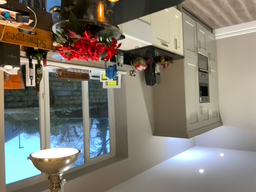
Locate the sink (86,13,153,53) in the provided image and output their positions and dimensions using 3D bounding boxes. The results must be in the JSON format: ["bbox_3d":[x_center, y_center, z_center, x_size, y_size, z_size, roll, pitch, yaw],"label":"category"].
[{"bbox_3d":[-0.090,-0.720,2.560,0.540,0.230,0.610,-3,179,38],"label":"sink"}]

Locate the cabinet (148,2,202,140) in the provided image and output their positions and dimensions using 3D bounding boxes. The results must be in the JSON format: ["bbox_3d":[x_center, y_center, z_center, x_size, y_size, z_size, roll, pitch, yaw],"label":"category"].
[{"bbox_3d":[0.850,-0.390,3.820,0.650,2.210,0.590,-3,179,38],"label":"cabinet"}]

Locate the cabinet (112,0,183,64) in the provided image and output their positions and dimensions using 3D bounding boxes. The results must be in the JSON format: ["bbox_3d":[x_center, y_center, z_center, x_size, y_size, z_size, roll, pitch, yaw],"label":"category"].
[{"bbox_3d":[0.330,-1.030,3.220,0.610,0.900,0.960,-3,179,38],"label":"cabinet"}]
